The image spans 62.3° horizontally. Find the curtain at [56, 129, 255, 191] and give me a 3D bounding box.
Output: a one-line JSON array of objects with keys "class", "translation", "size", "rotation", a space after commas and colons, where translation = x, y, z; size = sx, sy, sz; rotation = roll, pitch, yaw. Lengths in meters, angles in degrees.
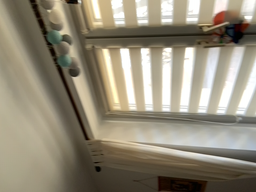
[{"class": "curtain", "translation": [0.260, 0.470, 1.530], "size": [0.390, 1.490, 0.160], "rotation": [81, -164, -46]}]

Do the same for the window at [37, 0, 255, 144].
[{"class": "window", "translation": [0.380, -0.250, 1.120], "size": [1.500, 1.530, 0.160], "rotation": [81, -164, -46]}]
